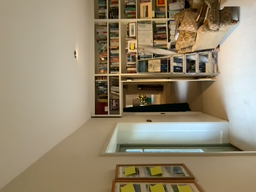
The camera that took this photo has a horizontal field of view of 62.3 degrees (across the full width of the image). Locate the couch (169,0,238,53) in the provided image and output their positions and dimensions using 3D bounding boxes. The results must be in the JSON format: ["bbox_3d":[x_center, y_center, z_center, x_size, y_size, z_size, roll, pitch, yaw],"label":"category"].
[{"bbox_3d":[1.270,-1.390,3.850,1.080,0.820,0.820,89,180,-77],"label":"couch"}]

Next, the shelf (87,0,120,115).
[{"bbox_3d":[-0.540,-1.770,4.660,0.310,0.660,4.350,88,-179,-88],"label":"shelf"}]
